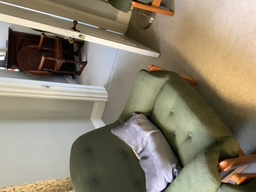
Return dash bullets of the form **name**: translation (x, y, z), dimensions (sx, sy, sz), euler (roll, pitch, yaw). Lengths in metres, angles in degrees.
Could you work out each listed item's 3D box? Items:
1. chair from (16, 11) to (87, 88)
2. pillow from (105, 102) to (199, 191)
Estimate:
- **chair**: translation (-1.390, -0.770, 3.760), dimensions (0.750, 0.980, 0.930), euler (-49, 48, 43)
- **pillow**: translation (0.120, 0.360, 1.440), dimensions (0.580, 0.280, 0.330), euler (57, 132, 43)
